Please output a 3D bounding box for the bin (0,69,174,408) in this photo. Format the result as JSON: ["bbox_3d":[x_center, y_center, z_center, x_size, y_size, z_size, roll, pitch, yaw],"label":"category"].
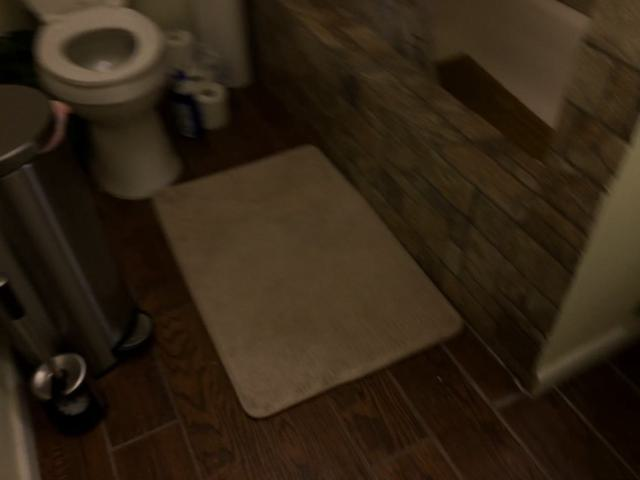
[{"bbox_3d":[-0.590,0.020,1.280,0.310,0.640,0.310,-21,47,-16],"label":"bin"}]
